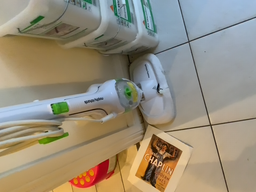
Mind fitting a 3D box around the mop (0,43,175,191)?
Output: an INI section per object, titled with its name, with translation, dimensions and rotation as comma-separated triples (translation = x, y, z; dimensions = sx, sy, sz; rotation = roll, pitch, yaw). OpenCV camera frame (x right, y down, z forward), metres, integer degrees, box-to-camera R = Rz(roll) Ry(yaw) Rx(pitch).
[mop]
translation = -0.150, 0.030, 0.420
dimensions = 0.140, 1.070, 0.200
rotation = -8, 90, 30
